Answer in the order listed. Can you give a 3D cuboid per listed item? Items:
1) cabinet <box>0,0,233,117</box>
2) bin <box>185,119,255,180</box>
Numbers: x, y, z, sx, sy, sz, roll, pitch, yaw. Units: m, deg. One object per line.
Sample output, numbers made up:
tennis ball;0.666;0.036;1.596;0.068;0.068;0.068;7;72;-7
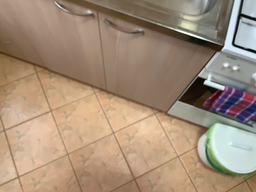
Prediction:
cabinet;-0.270;-0.480;1.170;1.330;0.830;0.590;19;70;3
bin;0.550;0.320;1.220;0.310;0.330;0.220;18;70;3
